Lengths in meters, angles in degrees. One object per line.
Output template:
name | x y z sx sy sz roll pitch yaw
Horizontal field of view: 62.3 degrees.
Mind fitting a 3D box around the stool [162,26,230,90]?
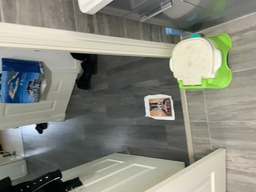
stool | 0.430 -0.220 1.360 0.340 0.200 0.340 -2 94 47
